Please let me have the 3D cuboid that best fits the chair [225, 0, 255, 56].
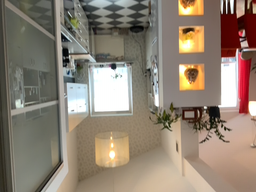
[{"bbox_3d":[2.060,-1.220,3.710,0.410,0.950,0.580,-2,-177,-4],"label":"chair"}]
